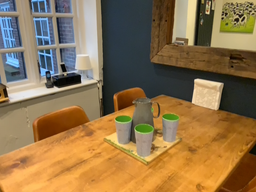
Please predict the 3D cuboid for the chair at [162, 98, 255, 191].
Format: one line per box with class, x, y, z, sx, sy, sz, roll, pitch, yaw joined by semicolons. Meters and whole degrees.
chair;0.590;0.600;1.390;0.540;0.980;0.490;17;25;39
